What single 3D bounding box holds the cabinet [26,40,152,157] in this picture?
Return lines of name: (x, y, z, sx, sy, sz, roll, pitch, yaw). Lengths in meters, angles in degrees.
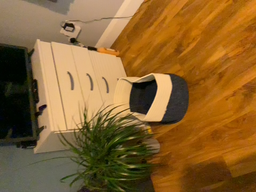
cabinet: (-0.340, 0.030, 1.770, 0.440, 0.790, 0.720, -42, 57, 42)
